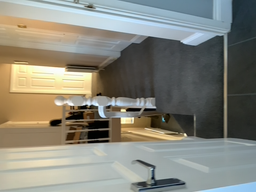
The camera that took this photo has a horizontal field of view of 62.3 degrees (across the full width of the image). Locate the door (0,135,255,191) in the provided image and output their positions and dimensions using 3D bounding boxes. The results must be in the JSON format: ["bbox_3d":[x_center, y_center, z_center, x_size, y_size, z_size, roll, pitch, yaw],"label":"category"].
[{"bbox_3d":[-0.200,0.240,0.690,0.910,1.730,0.090,169,102,-68],"label":"door"}]
